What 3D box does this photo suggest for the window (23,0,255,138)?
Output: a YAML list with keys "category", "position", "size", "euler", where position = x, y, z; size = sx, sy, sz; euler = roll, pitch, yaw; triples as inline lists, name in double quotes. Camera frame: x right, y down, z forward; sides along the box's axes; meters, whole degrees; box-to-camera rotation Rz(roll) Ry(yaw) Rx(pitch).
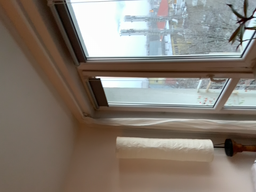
- category: "window"
  position: [0.270, -0.540, 0.980]
  size: [2.870, 1.410, 0.400]
  euler: [83, -170, -58]
